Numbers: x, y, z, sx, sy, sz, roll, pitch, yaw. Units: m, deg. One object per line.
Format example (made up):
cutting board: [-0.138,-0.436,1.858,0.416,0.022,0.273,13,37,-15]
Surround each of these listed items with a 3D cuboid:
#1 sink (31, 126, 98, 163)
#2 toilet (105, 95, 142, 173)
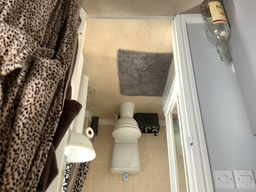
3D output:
sink: [-0.540,0.460,1.950,0.430,0.170,0.570,0,150,2]
toilet: [-0.040,0.520,2.770,0.400,0.800,0.720,1,150,1]
